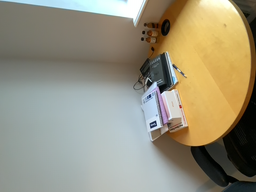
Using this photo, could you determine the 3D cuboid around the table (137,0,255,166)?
[{"bbox_3d":[0.620,-0.140,1.290,0.790,0.720,0.800,122,140,-51],"label":"table"}]
